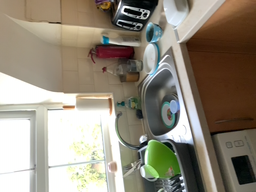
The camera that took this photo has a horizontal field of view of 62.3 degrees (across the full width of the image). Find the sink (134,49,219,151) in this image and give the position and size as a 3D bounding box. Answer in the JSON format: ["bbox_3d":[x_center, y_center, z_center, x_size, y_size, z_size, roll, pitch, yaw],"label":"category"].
[{"bbox_3d":[0.230,0.060,1.240,0.530,0.160,0.430,131,135,-62],"label":"sink"}]
